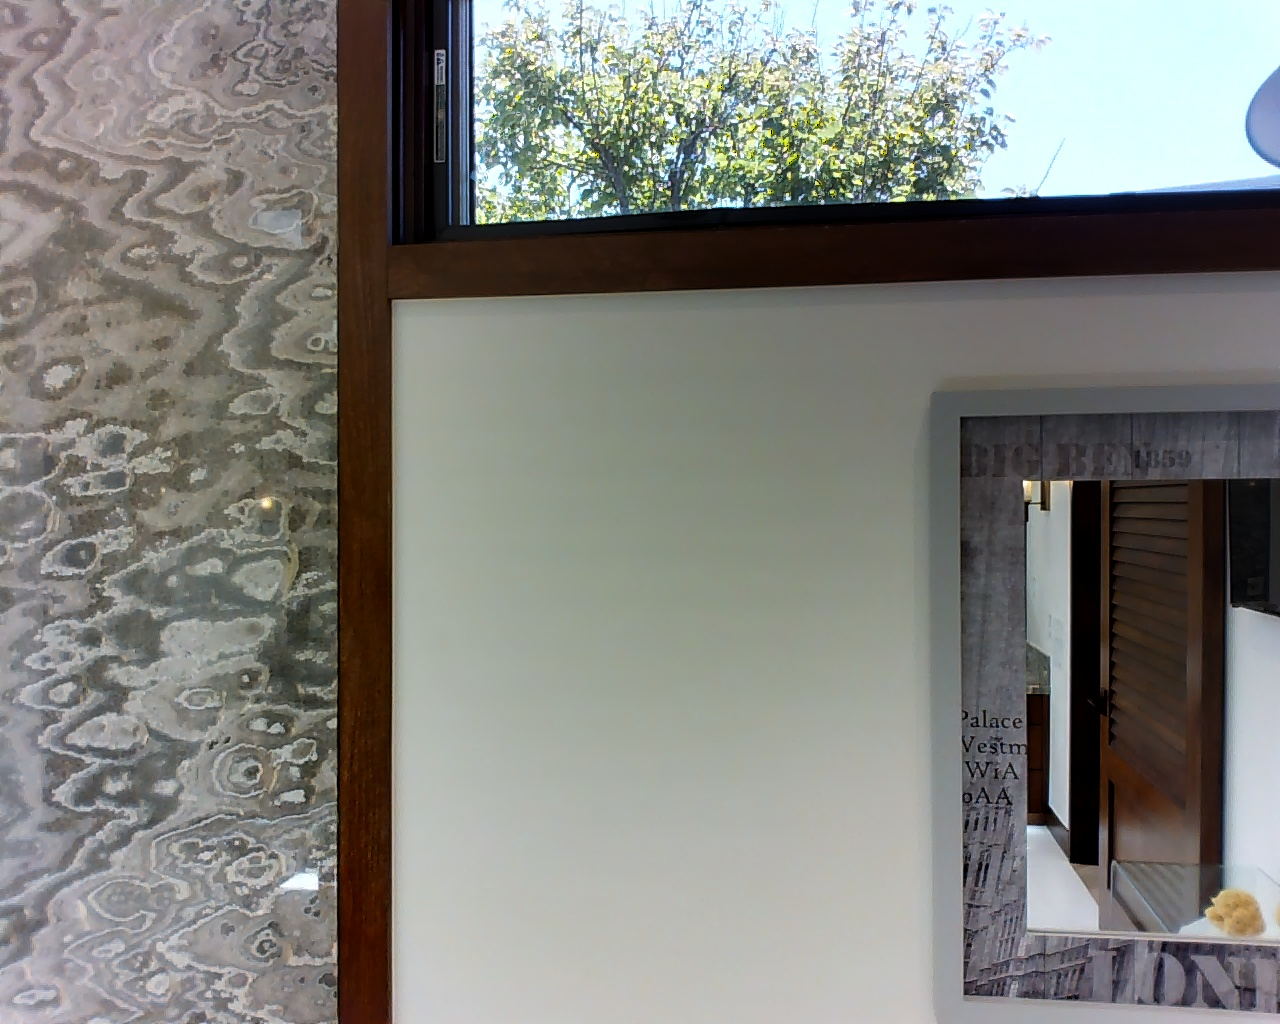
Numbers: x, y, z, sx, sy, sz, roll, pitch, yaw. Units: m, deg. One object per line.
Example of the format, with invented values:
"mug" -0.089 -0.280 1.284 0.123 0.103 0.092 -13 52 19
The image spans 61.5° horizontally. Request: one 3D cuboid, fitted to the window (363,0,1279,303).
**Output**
"window" 0.330 -0.510 1.140 1.240 0.510 0.160 0 -1 8
